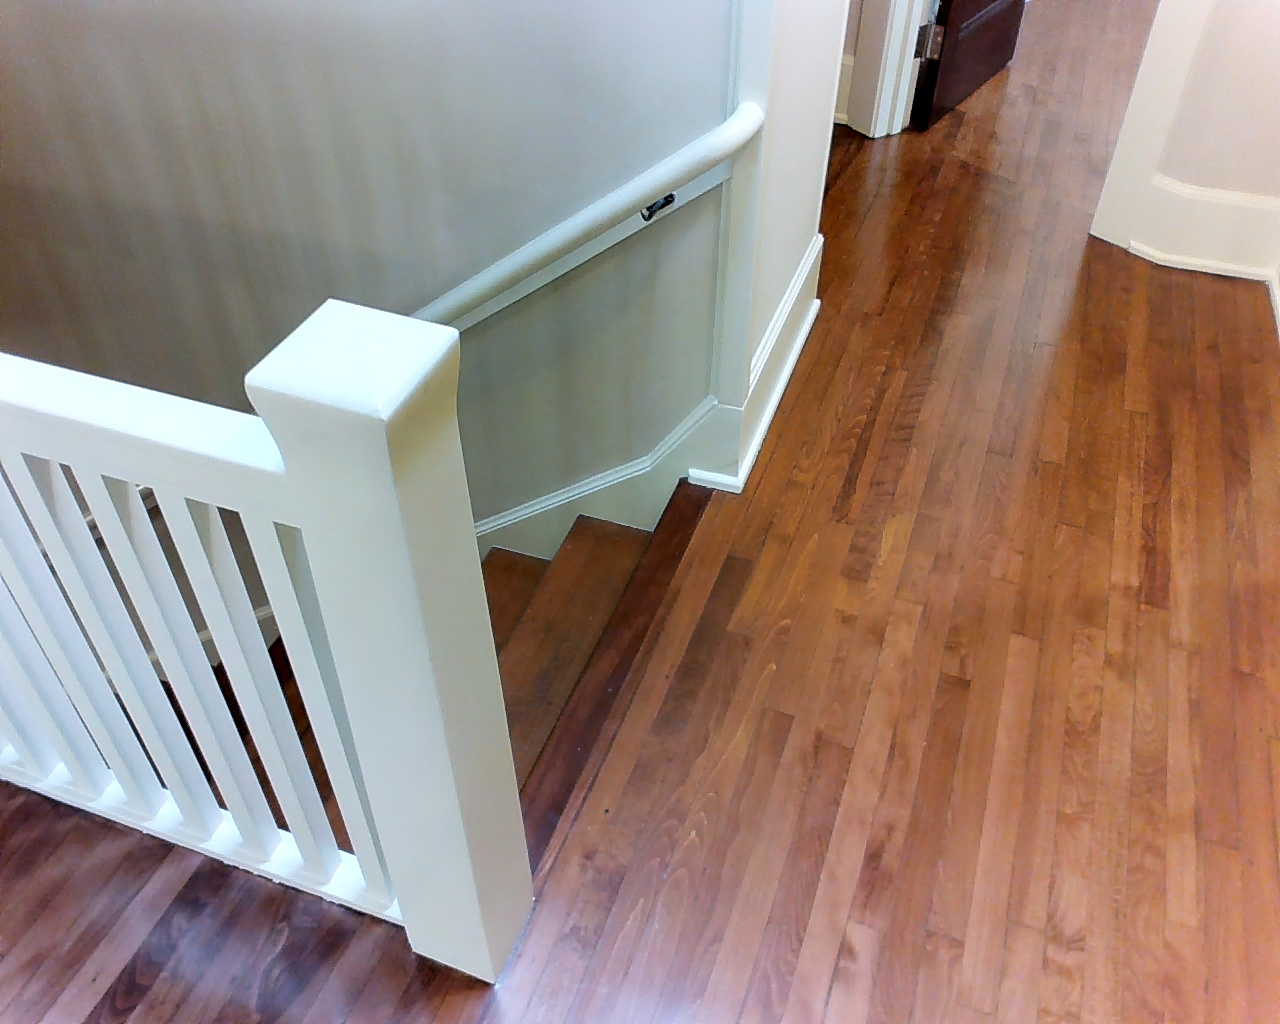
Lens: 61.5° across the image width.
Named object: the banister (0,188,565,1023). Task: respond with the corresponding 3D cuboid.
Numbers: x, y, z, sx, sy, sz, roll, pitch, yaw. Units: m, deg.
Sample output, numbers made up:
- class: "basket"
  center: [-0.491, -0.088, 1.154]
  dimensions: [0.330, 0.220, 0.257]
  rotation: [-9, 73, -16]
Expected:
- class: "banister"
  center: [-0.680, 0.190, 1.460]
  dimensions: [1.120, 1.240, 0.190]
  rotation: [14, 43, 14]
